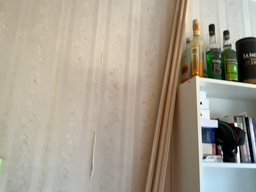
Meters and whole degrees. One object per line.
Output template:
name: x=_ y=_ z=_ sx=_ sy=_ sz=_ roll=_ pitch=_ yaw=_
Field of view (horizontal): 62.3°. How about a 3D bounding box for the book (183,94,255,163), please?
book: x=0.550 y=0.180 z=1.060 sx=0.500 sy=0.280 sz=0.210 roll=7 pitch=-13 yaw=-18
